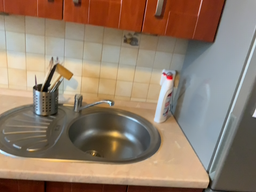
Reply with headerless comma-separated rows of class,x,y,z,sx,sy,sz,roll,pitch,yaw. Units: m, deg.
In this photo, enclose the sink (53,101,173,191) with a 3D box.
sink,-0.080,0.230,1.060,0.460,0.190,0.460,6,23,-8
